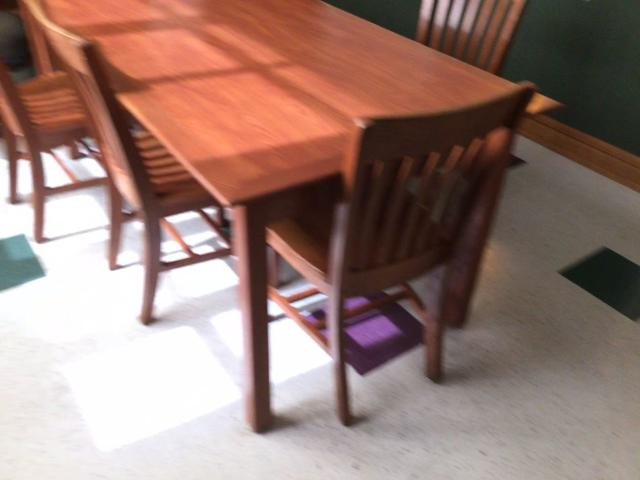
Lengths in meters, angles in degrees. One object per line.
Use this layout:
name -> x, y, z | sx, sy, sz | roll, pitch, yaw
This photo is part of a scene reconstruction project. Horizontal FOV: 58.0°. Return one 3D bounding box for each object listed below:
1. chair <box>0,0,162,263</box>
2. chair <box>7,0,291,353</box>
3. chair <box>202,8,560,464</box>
chair -> -0.990, -0.510, 2.020 | 0.560, 0.880, 0.580 | -22, 44, -30
chair -> -0.460, -0.240, 1.710 | 0.530, 0.880, 0.520 | -22, 44, -30
chair -> 0.090, -0.020, 1.460 | 0.500, 0.890, 0.550 | -22, 44, -30
